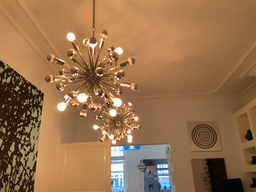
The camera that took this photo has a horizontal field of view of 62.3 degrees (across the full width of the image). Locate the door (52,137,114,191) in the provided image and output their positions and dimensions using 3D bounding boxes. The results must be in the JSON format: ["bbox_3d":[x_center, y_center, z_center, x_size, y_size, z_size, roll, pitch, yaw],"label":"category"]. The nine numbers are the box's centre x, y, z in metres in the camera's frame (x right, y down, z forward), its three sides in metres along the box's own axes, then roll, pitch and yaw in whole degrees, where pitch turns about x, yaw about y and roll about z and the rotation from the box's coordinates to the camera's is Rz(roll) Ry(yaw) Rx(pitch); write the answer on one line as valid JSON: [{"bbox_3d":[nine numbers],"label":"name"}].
[{"bbox_3d":[-0.690,1.720,3.270,0.950,2.090,0.180,-4,-20,3],"label":"door"}]
